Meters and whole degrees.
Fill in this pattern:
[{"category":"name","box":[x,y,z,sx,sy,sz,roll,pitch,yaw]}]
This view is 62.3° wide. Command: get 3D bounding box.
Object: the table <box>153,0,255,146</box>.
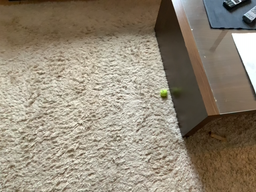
[{"category":"table","box":[0.670,-0.240,1.240,0.840,0.390,0.880,-6,67,-7]}]
